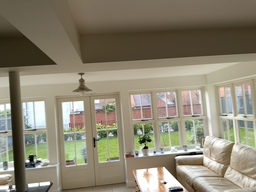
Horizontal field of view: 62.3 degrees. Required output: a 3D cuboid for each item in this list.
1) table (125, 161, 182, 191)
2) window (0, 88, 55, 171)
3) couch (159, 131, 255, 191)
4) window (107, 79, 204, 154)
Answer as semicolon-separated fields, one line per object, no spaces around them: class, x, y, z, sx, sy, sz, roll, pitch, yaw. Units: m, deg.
table;0.350;1.500;3.370;0.600;0.540;1.190;-4;-2;-9
window;-2.770;0.750;4.560;2.190;1.660;0.250;-4;-2;-5
couch;1.410;1.230;3.630;1.040;0.950;2.030;-4;-2;-11
window;0.660;0.460;5.110;2.190;1.560;0.260;-4;-2;-7
